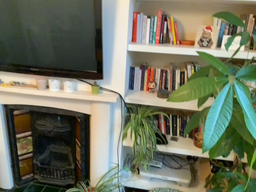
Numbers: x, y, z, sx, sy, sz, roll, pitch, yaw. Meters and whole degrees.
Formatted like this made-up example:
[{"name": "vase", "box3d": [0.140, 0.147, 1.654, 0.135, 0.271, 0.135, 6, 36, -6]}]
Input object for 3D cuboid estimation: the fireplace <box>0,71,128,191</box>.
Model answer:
[{"name": "fireplace", "box3d": [-0.750, 0.420, 1.790, 1.370, 1.070, 0.630, 6, 18, 8]}]
